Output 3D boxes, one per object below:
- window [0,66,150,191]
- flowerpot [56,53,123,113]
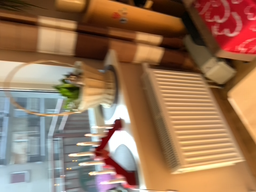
[{"bbox_3d":[-0.670,0.300,1.140,0.190,1.530,1.030,-54,42,48],"label":"window"},{"bbox_3d":[-0.250,-0.070,1.310,0.240,0.320,0.260,-57,40,46],"label":"flowerpot"}]
